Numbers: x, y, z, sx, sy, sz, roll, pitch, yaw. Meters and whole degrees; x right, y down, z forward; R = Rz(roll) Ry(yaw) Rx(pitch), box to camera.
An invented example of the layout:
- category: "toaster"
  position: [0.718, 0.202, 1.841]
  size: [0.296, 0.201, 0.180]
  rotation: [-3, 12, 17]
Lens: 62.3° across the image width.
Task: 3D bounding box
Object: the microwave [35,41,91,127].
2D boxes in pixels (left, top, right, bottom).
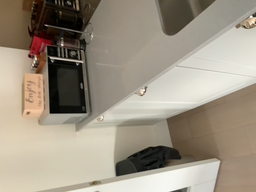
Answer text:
- category: "microwave"
  position: [-0.460, -0.060, 1.440]
  size: [0.340, 0.250, 0.460]
  rotation: [-35, 59, 51]
